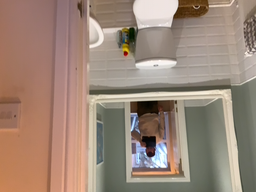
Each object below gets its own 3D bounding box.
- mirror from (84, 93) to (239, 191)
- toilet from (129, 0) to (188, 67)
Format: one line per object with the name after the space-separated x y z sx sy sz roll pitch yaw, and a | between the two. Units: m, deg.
0.280 0.480 2.010 1.390 0.970 0.060 -2 170 3 | mirror
0.210 -0.740 1.850 0.390 0.790 0.680 -2 170 1 | toilet
